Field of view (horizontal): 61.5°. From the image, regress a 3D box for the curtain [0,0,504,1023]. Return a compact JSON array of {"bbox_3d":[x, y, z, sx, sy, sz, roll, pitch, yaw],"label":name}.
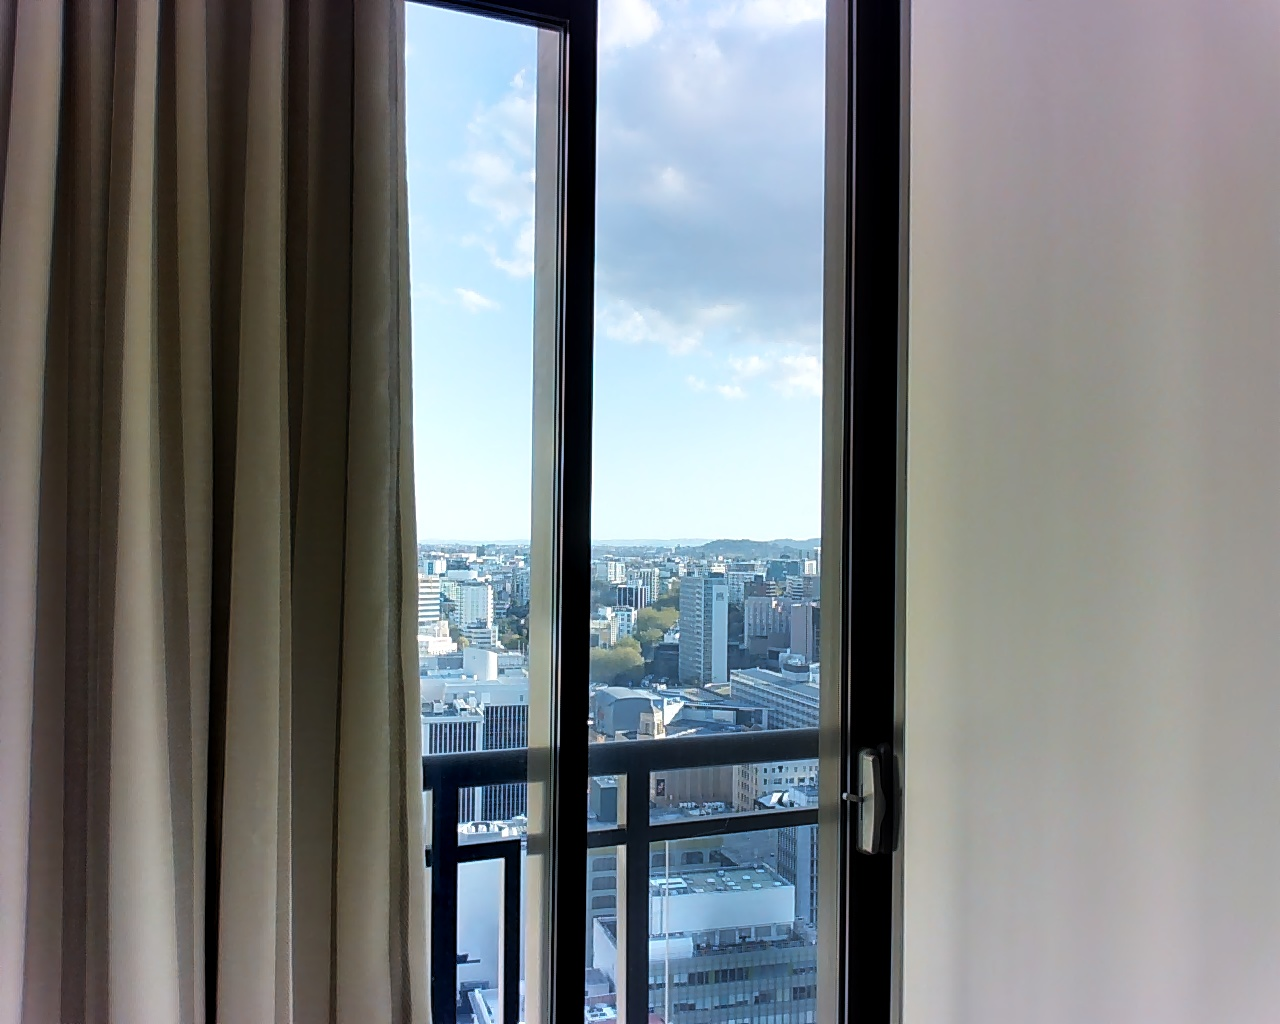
[{"bbox_3d":[-0.620,0.070,1.160,0.780,2.581,0.310,5,-1,-23],"label":"curtain"}]
